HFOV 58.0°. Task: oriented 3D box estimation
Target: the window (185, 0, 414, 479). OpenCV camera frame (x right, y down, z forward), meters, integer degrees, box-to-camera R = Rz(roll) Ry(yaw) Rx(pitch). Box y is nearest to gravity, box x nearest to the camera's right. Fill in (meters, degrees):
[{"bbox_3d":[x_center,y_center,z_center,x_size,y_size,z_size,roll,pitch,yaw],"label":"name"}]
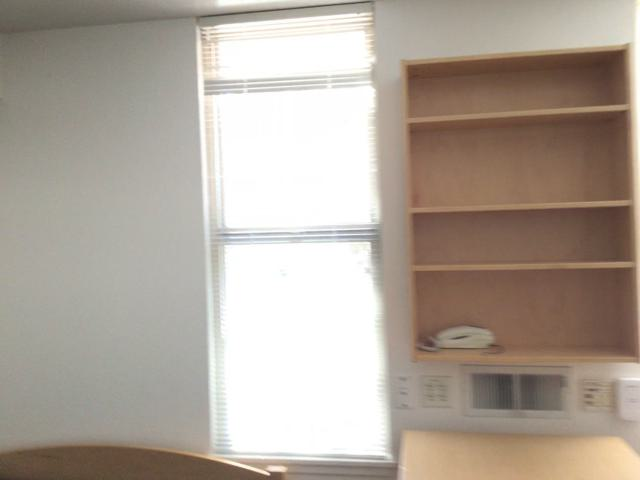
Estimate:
[{"bbox_3d":[-0.080,-0.020,2.330,0.820,1.820,0.250,-2,-1,13],"label":"window"}]
